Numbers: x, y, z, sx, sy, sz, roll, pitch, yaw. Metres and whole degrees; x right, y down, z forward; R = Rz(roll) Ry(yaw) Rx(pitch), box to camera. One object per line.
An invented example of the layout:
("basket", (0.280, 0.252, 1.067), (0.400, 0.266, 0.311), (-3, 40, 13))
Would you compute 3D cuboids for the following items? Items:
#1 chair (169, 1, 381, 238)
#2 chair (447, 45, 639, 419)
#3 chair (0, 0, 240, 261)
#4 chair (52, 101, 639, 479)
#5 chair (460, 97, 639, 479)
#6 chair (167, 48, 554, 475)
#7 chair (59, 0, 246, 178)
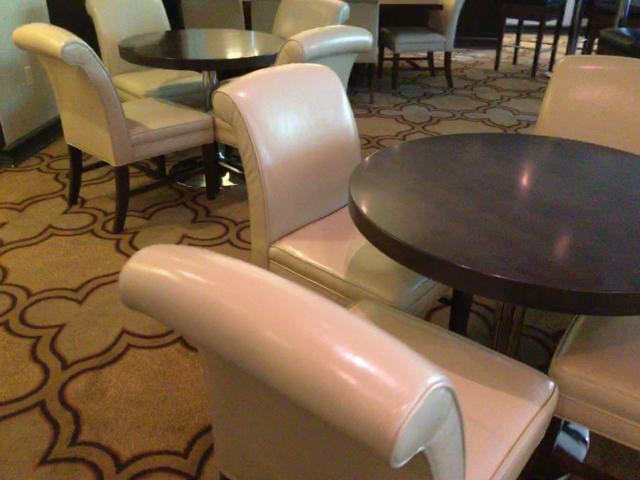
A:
("chair", (-0.220, -0.640, 2.870), (0.830, 0.880, 0.560), (27, 40, 37))
("chair", (0.850, -0.080, 1.940), (0.530, 0.910, 0.770), (15, 34, 23))
("chair", (-0.940, -0.570, 2.770), (0.600, 0.930, 0.850), (27, 40, 37))
("chair", (0.130, 0.340, 1.140), (0.610, 0.930, 0.820), (22, 37, 32))
("chair", (0.880, 0.270, 1.320), (0.870, 0.920, 0.600), (16, 35, 25))
("chair", (0.110, 0.000, 1.790), (0.840, 0.940, 0.610), (20, 36, 30))
("chair", (-1.030, -1.060, 3.600), (0.660, 0.950, 0.920), (-25, 39, -35))
